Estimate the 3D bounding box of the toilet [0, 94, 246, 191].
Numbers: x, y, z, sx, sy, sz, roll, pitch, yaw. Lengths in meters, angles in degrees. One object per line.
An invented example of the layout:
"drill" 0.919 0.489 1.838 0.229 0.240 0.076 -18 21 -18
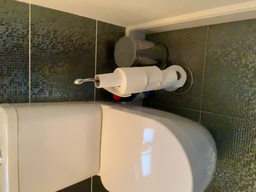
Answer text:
"toilet" -0.020 0.240 0.880 0.640 0.810 0.400 8 99 46
